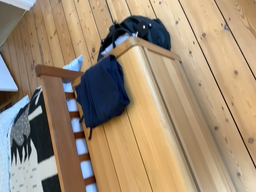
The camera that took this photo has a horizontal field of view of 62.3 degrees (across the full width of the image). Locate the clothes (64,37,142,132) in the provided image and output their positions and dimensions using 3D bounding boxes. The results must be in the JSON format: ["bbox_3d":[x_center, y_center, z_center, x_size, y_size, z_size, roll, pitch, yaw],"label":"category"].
[{"bbox_3d":[-0.140,-0.040,1.010,0.350,0.070,0.320,-29,70,33],"label":"clothes"}]
